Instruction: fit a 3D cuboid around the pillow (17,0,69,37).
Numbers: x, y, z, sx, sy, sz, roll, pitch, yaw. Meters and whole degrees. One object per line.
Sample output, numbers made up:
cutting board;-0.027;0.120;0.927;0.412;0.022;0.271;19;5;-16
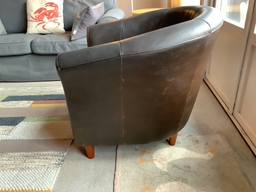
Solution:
pillow;-0.910;-0.860;2.310;0.460;0.380;0.160;2;-11;-1

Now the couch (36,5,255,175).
couch;0.080;-0.110;1.250;0.760;0.700;0.810;-2;27;2

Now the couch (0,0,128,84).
couch;-0.910;-0.720;2.350;1.760;0.840;0.910;-1;28;3
